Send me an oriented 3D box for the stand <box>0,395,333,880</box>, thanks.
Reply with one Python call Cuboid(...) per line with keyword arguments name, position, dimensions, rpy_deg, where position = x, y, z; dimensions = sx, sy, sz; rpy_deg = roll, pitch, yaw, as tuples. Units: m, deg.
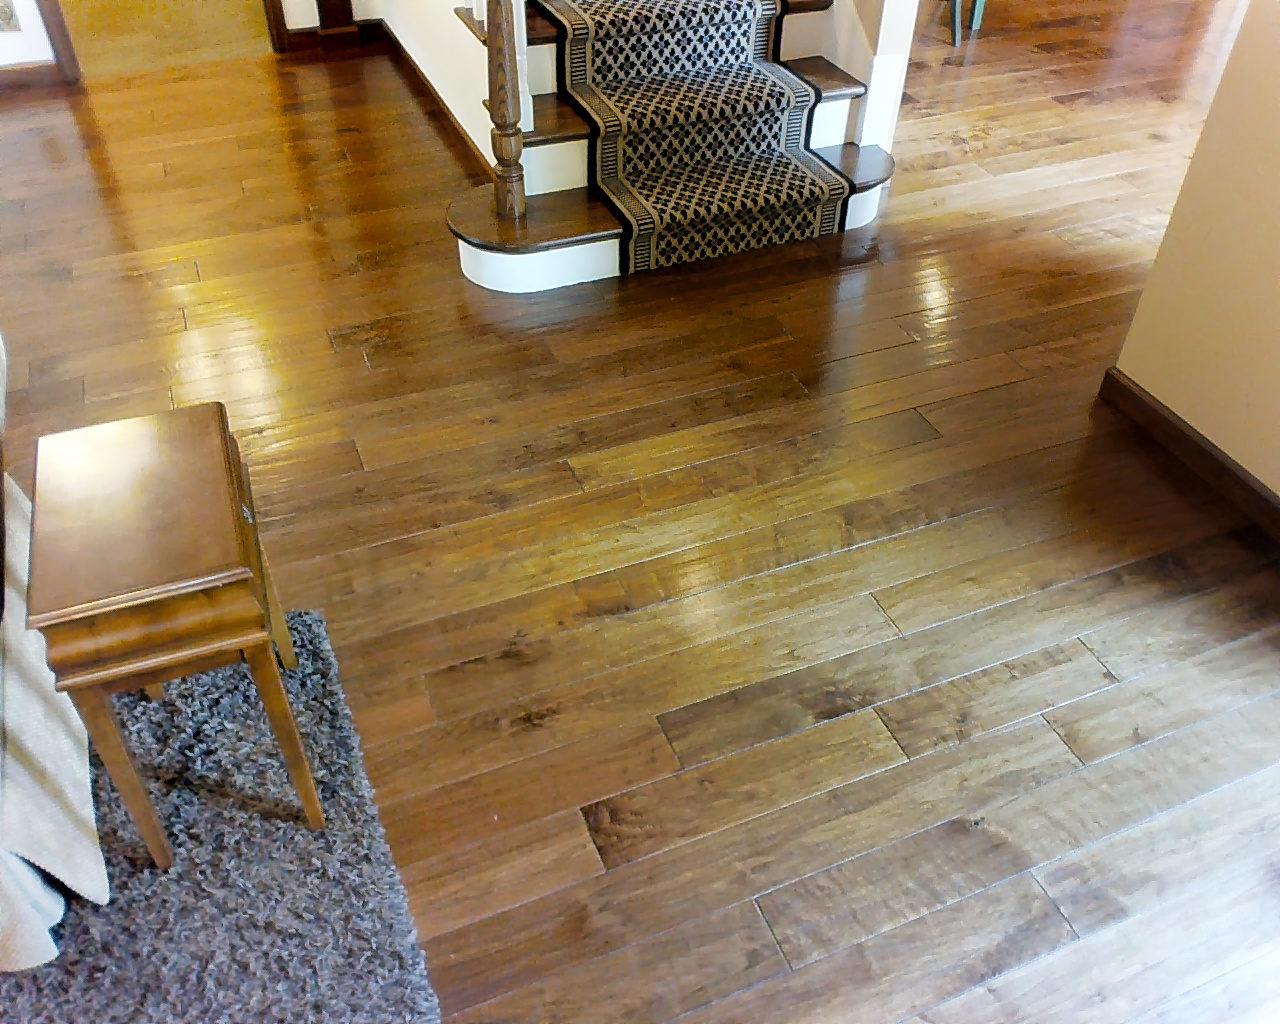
Cuboid(name="stand", position=(-0.710, 0.200, 1.660), dimensions=(0.310, 0.600, 0.380), rpy_deg=(-13, 44, -15))
